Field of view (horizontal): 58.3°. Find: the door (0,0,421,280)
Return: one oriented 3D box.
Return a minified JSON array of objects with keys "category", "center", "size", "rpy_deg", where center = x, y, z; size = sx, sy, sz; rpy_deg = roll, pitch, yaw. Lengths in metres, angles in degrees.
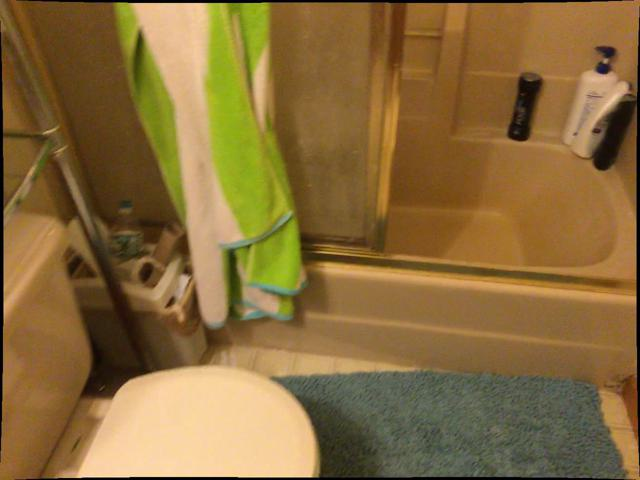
[{"category":"door","center":[-0.240,-0.540,1.000],"size":[0.839,1.481,0.190],"rpy_deg":[4,43,6]}]

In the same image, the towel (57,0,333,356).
[{"category":"towel","center":[-0.190,-0.140,1.200],"size":[0.320,0.980,0.200],"rpy_deg":[0,43,10]}]
